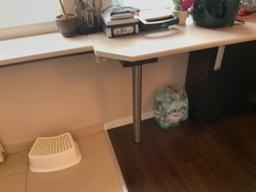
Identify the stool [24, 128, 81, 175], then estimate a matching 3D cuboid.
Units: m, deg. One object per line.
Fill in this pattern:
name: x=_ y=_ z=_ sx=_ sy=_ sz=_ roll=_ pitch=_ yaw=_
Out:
stool: x=-0.530 y=0.390 z=1.540 sx=0.350 sy=0.120 sz=0.260 roll=-8 pitch=35 yaw=-9
